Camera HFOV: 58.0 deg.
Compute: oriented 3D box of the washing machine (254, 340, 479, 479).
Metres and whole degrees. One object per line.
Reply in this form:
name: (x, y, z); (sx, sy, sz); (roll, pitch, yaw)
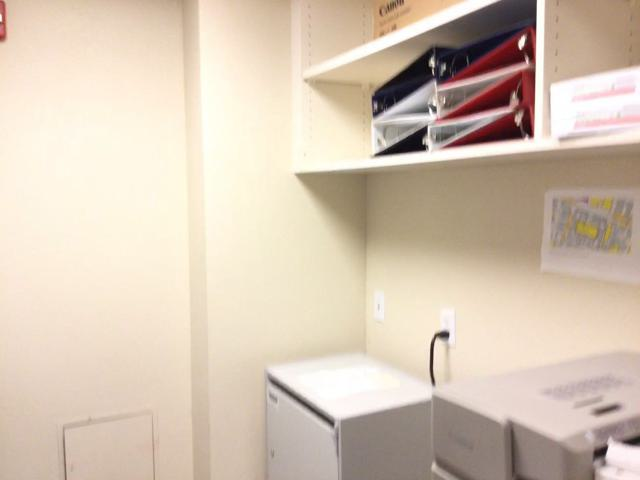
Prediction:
washing machine: (0.110, 0.870, 1.900); (0.470, 0.940, 0.590); (2, 2, -27)
